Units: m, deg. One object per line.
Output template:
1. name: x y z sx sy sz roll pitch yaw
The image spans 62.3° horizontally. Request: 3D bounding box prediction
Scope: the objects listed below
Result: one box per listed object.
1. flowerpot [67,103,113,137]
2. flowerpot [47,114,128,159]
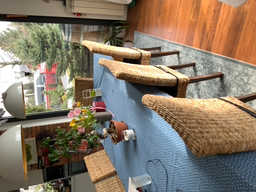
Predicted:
1. flowerpot: -0.400 0.240 2.210 0.250 0.410 0.190 -133 43 -54
2. flowerpot: -0.340 0.330 1.820 0.210 0.640 0.190 -137 47 -56
